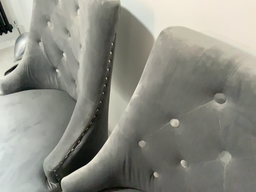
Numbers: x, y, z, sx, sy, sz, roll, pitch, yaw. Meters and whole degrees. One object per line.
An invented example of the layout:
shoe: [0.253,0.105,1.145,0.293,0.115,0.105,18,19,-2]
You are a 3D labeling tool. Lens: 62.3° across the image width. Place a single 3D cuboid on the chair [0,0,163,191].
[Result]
chair: [-0.340,0.090,0.860,0.650,0.920,0.550,-29,52,-26]
